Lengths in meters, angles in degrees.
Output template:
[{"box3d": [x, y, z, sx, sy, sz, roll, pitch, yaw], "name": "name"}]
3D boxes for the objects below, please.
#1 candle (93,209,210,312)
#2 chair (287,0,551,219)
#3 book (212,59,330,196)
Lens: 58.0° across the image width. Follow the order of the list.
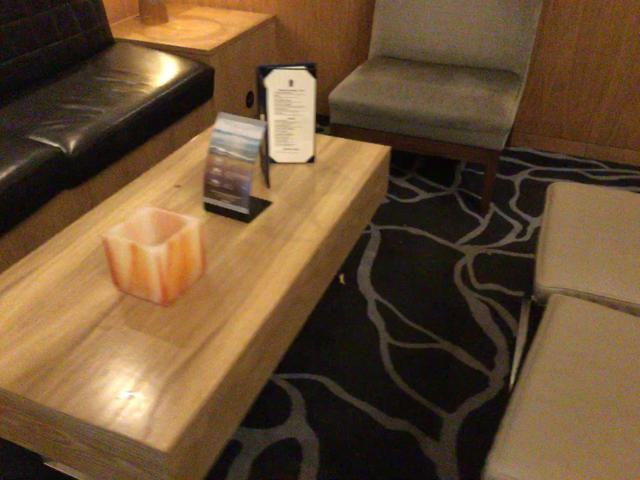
[{"box3d": [-0.350, 0.040, 1.220, 0.170, 0.140, 0.130, 11, 36, 21], "name": "candle"}, {"box3d": [0.450, -0.710, 2.490, 0.890, 0.850, 0.740, 11, 36, 21], "name": "chair"}, {"box3d": [-0.130, -0.320, 1.620, 0.240, 0.280, 0.190, -24, 39, -27], "name": "book"}]
